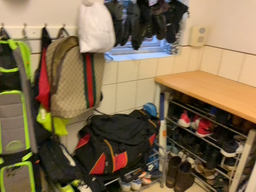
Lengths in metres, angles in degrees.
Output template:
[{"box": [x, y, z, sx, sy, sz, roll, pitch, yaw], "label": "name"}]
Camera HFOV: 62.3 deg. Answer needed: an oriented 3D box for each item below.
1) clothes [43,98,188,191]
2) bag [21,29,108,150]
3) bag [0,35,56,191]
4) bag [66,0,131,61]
[{"box": [-0.050, 0.350, 1.510, 0.950, 0.430, 0.310, -11, 27, -33], "label": "clothes"}, {"box": [-0.340, -0.060, 1.210, 0.380, 0.600, 0.210, -14, 29, -37], "label": "bag"}, {"box": [-0.630, 0.250, 1.140, 0.380, 1.090, 0.180, -12, 28, -34], "label": "bag"}, {"box": [-0.170, -0.390, 1.200, 0.270, 0.310, 0.230, -13, 28, -36], "label": "bag"}]
